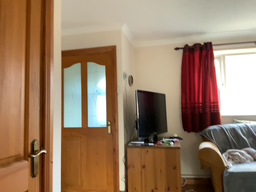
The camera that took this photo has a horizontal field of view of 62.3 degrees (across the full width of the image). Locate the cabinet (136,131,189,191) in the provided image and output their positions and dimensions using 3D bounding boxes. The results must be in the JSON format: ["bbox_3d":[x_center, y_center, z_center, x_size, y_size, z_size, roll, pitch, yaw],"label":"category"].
[{"bbox_3d":[0.510,0.940,3.030,0.620,0.770,0.980,-2,-4,12],"label":"cabinet"}]
